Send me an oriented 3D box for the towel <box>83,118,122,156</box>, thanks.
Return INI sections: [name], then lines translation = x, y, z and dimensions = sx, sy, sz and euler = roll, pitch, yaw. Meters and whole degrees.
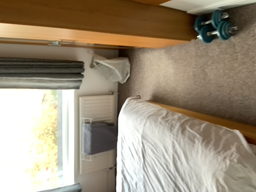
[towel]
translation = -0.370, 0.580, 3.100
dimensions = 0.130, 0.540, 0.470
euler = 13, 103, 59
